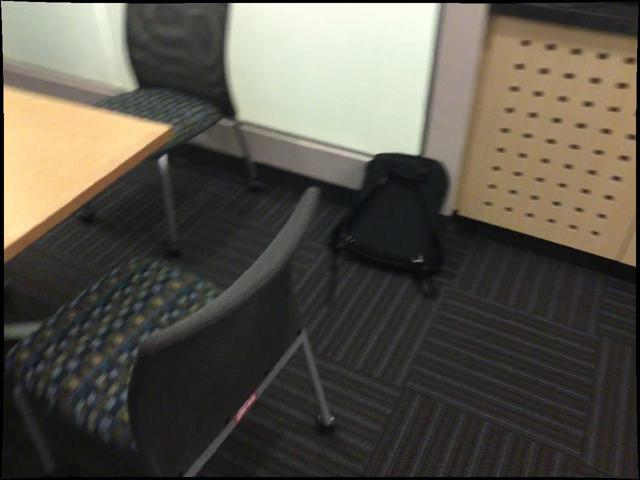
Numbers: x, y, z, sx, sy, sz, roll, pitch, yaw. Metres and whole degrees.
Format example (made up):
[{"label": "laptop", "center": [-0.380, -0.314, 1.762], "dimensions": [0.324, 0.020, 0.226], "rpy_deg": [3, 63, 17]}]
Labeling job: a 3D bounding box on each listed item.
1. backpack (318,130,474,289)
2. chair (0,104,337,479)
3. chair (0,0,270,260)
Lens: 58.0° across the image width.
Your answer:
[{"label": "backpack", "center": [0.269, -0.120, 2.080], "dimensions": [0.429, 0.320, 0.360], "rpy_deg": [18, 47, 19]}, {"label": "chair", "center": [-0.349, 0.241, 1.250], "dimensions": [0.599, 0.771, 0.550], "rpy_deg": [18, 47, 19]}, {"label": "chair", "center": [-0.628, -0.501, 2.200], "dimensions": [0.549, 0.791, 0.670], "rpy_deg": [18, 47, 19]}]
